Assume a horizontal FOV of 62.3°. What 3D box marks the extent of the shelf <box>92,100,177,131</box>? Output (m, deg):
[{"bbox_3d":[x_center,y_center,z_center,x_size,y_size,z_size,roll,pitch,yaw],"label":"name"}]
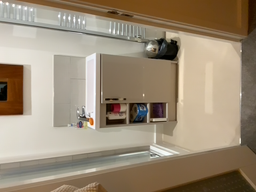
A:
[{"bbox_3d":[0.080,0.160,1.970,0.240,0.780,0.220,5,95,60],"label":"shelf"}]
